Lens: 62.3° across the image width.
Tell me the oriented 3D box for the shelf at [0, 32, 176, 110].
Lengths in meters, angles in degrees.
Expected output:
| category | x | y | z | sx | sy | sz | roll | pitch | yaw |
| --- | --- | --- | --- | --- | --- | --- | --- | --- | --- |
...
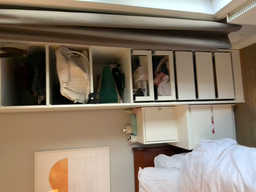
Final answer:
| category | x | y | z | sx | sy | sz | roll | pitch | yaw |
| --- | --- | --- | --- | --- | --- | --- | --- | --- | --- |
| shelf | -0.500 | -0.160 | 1.890 | 0.610 | 1.690 | 0.520 | 155 | 115 | -75 |
